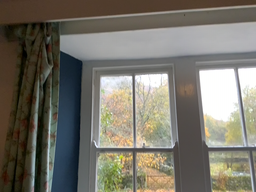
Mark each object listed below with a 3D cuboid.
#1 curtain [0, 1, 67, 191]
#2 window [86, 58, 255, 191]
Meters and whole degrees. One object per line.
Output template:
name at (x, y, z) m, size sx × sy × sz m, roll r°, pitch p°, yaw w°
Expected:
curtain at (-0.470, 0.380, 0.910) m, size 0.270 × 1.640 × 0.190 m, roll -2°, pitch -13°, yaw 6°
window at (0.380, 0.320, 1.430) m, size 1.310 × 1.120 × 0.100 m, roll -2°, pitch -13°, yaw 7°
